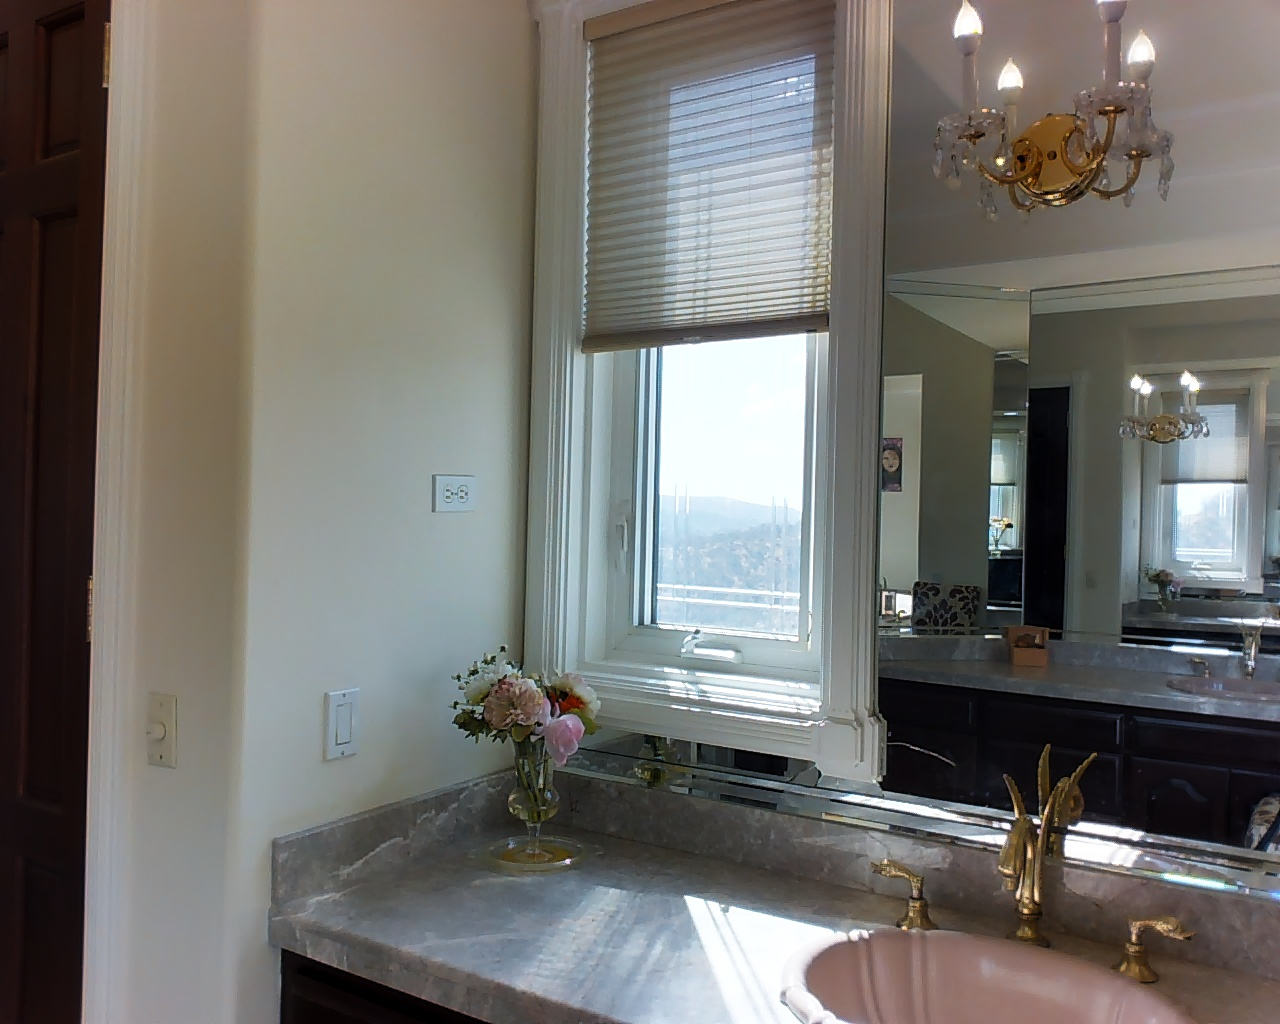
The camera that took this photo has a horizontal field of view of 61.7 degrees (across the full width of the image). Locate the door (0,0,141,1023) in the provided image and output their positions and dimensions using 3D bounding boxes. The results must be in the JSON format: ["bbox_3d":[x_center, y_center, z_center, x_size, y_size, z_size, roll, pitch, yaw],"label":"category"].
[{"bbox_3d":[-1.130,0.220,1.930,0.660,2.410,0.050,0,0,33],"label":"door"}]

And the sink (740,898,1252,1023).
[{"bbox_3d":[0.450,0.680,1.360,0.550,0.170,0.340,0,0,33],"label":"sink"}]
